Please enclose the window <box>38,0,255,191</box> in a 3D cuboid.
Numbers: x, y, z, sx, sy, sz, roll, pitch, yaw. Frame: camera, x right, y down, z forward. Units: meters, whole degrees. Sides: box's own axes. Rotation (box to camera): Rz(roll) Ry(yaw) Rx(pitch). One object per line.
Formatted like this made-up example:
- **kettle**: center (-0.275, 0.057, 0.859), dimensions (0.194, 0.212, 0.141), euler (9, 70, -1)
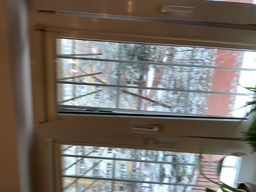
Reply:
- **window**: center (0.140, 0.390, 1.120), dimensions (0.220, 1.090, 1.560), euler (-91, 5, -77)
